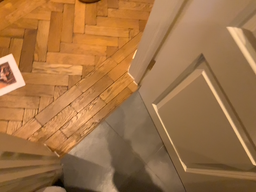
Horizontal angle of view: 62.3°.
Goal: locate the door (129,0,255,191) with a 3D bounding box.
[{"bbox_3d":[0.310,-0.100,0.300,0.050,1.950,0.740,-19,78,-14],"label":"door"}]
